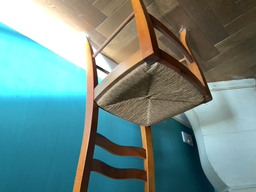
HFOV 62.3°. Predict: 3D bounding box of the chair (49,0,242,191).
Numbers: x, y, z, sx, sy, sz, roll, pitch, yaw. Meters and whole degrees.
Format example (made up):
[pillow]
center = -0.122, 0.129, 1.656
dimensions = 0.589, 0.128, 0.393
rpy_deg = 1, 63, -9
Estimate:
[chair]
center = 0.040, 0.040, 0.900
dimensions = 0.460, 0.950, 0.460
rpy_deg = -29, 139, 31
